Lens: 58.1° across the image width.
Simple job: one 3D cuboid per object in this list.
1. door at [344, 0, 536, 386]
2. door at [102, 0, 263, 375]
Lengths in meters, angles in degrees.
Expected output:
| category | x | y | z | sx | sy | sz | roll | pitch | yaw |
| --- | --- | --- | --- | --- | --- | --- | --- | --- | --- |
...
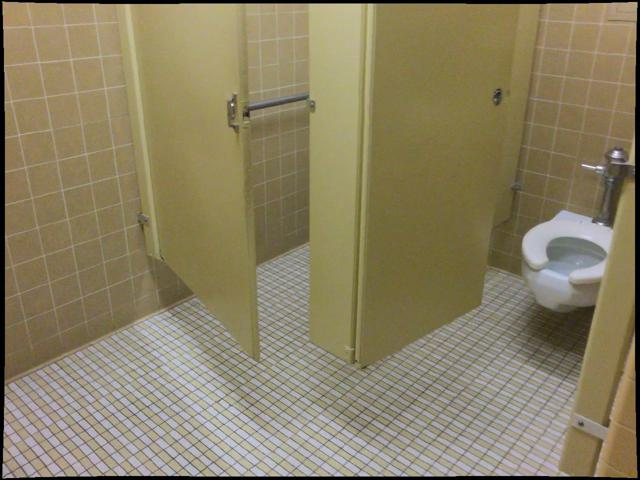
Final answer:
| category | x | y | z | sx | sy | sz | roll | pitch | yaw |
| --- | --- | --- | --- | --- | --- | --- | --- | --- | --- |
| door | 0.349 | -0.341 | 1.620 | 0.639 | 1.473 | 0.100 | -21 | 33 | -38 |
| door | -0.459 | -0.431 | 1.790 | 0.090 | 1.513 | 0.860 | -16 | 30 | -32 |
